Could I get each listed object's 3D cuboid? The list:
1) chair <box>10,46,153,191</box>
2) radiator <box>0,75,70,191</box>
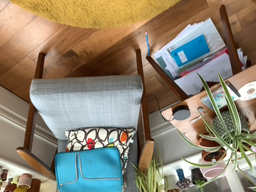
[{"bbox_3d":[-0.200,0.240,1.370,0.560,0.710,0.810,-4,137,-2],"label":"chair"},{"bbox_3d":[-0.910,0.140,1.320,0.230,0.560,1.240,-26,134,20],"label":"radiator"}]
